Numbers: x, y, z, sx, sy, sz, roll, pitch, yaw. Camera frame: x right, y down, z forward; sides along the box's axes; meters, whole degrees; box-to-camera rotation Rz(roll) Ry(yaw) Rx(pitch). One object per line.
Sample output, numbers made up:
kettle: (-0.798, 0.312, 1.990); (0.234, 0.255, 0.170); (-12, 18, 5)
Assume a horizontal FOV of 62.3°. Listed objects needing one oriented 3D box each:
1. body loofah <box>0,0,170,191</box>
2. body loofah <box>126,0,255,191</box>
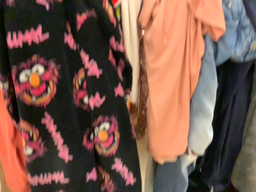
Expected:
body loofah: (-0.170, 0.130, 0.600); (0.440, 1.070, 0.220); (-9, 28, -20)
body loofah: (0.360, 0.070, 0.770); (0.640, 1.160, 0.340); (-7, 27, -18)
